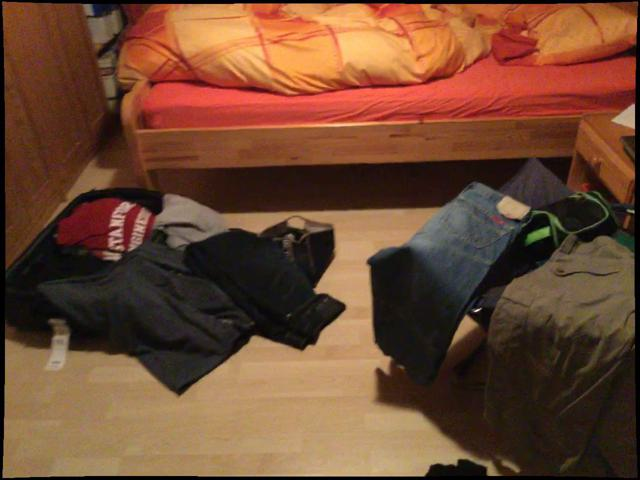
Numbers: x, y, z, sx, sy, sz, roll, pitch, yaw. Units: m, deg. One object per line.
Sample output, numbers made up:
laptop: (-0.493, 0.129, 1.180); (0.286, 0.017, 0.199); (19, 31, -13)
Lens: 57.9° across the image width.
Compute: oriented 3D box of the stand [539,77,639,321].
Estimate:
stand: (1.199, -0.170, 1.970); (0.609, 0.540, 0.690); (-2, 36, 3)

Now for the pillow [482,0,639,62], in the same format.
pillow: (1.069, -1.021, 2.580); (0.509, 0.160, 0.790); (-2, 36, 3)
